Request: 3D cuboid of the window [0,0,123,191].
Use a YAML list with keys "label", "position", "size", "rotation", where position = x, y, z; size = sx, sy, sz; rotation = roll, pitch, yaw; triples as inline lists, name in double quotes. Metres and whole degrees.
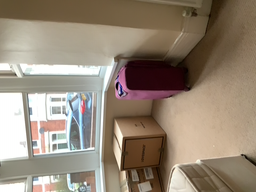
- label: "window"
  position: [-1.190, 0.420, 2.320]
  size: [1.110, 1.810, 2.720]
  rotation: [-125, 38, -62]
